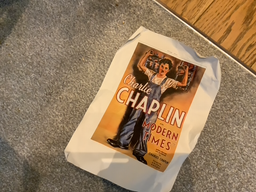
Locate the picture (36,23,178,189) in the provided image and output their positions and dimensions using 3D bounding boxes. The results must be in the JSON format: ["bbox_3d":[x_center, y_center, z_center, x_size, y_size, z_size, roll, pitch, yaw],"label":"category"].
[{"bbox_3d":[-0.030,0.010,0.380,0.230,0.020,0.280,3,81,1],"label":"picture"}]
